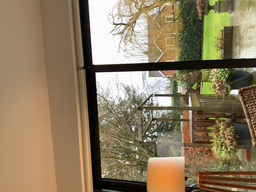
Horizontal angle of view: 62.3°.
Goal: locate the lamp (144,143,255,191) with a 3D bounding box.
[{"bbox_3d":[0.950,0.760,1.910,0.440,1.540,0.420,-55,-37,-67],"label":"lamp"}]
